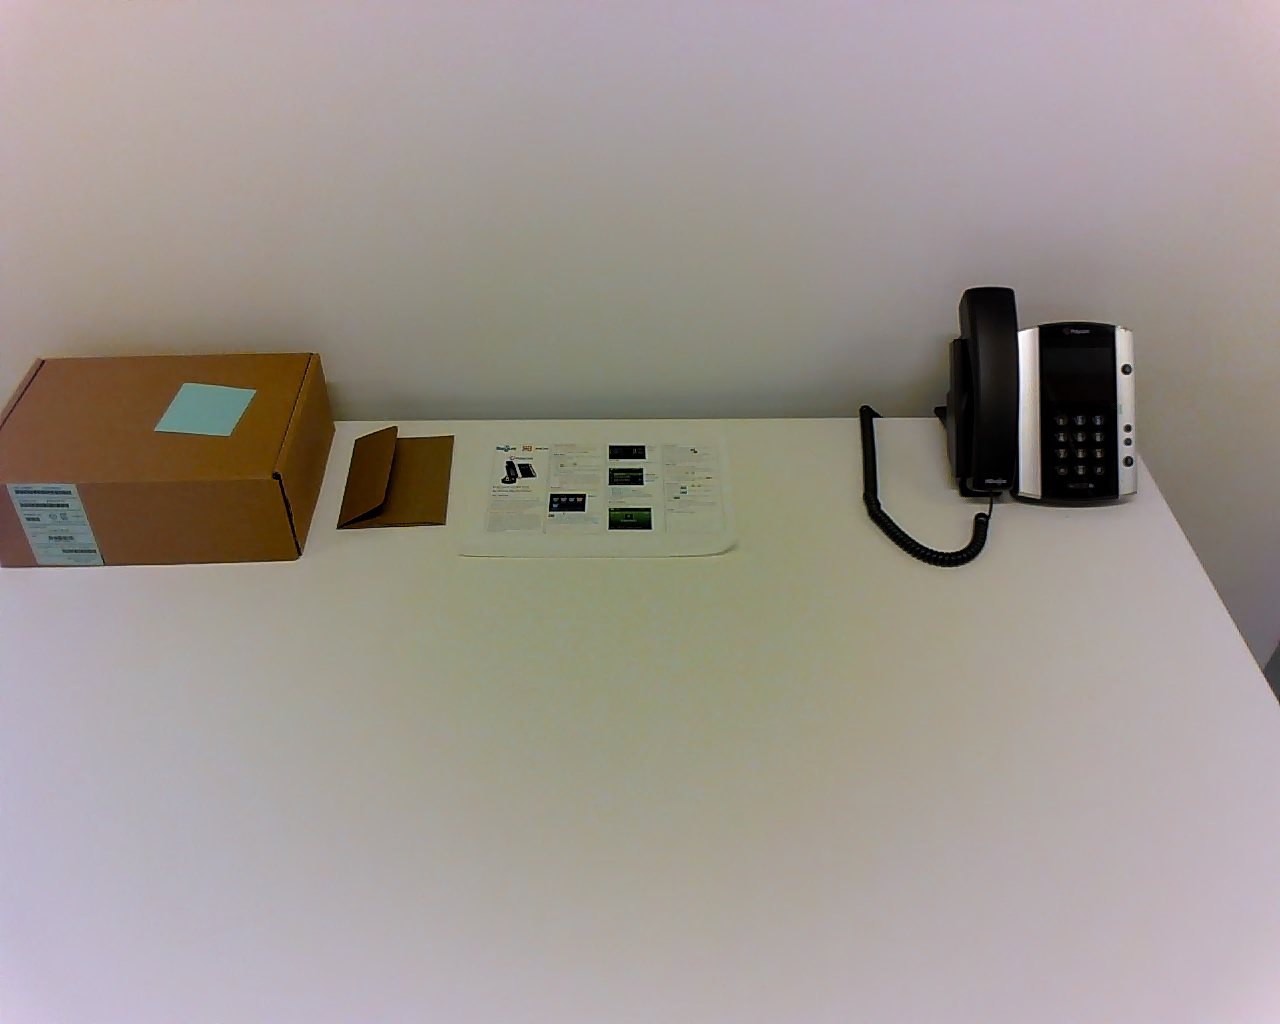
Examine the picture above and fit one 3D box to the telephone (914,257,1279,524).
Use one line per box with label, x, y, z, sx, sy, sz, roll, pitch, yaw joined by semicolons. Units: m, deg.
telephone;0.460;-0.130;1.120;0.270;0.180;0.220;-1;42;-1
